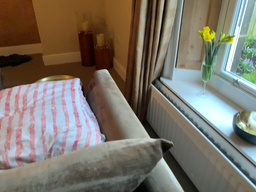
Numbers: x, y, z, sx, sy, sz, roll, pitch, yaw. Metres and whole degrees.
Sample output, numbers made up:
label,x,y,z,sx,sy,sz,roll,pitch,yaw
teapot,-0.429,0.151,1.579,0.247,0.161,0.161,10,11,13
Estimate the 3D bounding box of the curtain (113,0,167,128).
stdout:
label,x,y,z,sx,sy,sz,roll,pitch,yaw
curtain,0.070,-0.790,1.560,0.250,2.180,0.490,-9,32,-15
